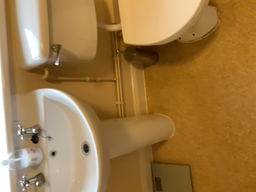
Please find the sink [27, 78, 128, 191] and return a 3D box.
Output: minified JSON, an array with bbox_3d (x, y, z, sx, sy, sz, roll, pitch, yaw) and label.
[{"bbox_3d":[-0.220,0.230,0.890,0.360,0.200,0.550,-8,86,41],"label":"sink"}]
